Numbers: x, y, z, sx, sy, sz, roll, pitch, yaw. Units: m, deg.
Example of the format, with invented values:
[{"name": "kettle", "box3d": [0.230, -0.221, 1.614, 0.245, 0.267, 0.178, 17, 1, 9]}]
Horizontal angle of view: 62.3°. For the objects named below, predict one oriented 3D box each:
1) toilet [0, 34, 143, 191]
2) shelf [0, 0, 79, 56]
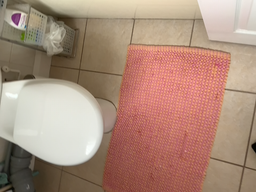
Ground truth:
[{"name": "toilet", "box3d": [-0.440, 0.080, 0.990, 0.730, 0.770, 0.530, 9, 92, 24]}, {"name": "shelf", "box3d": [-0.580, -0.380, 1.070, 0.200, 0.780, 0.190, 8, 91, 24]}]
